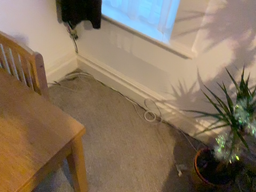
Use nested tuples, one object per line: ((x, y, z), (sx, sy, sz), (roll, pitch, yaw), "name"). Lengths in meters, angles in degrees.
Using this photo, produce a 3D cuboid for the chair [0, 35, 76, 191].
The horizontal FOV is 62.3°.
((-0.630, 0.220, 1.030), (0.450, 0.850, 0.490), (31, 52, 20), "chair")
